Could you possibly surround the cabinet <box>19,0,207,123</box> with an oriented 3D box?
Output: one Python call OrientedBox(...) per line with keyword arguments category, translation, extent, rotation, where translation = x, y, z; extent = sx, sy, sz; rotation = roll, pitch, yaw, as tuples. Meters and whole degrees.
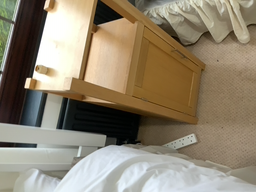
OrientedBox(category="cabinet", translation=(0.020, -0.120, 1.010), extent=(0.340, 0.840, 0.370), rotation=(3, 81, 43))
